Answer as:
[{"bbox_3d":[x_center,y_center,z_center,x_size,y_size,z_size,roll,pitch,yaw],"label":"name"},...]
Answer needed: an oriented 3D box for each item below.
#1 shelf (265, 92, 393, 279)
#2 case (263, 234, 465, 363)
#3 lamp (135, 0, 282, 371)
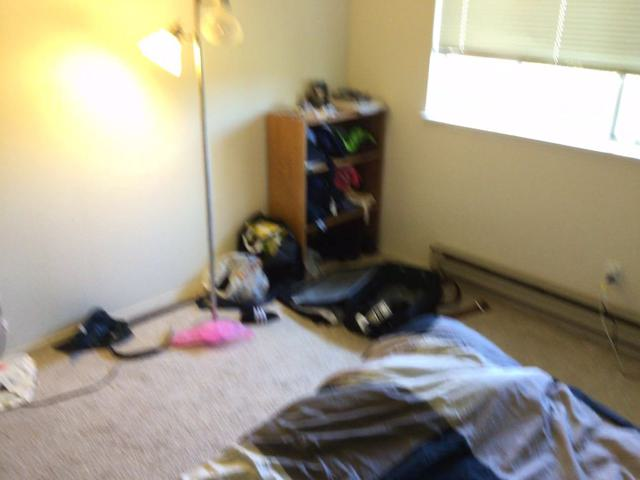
[{"bbox_3d":[0.060,-0.330,3.270,0.620,0.890,0.350,-21,30,-39],"label":"shelf"},{"bbox_3d":[0.230,0.250,2.930,0.760,0.190,0.690,16,28,33],"label":"case"},{"bbox_3d":[-0.430,-0.320,2.360,0.360,1.700,0.330,-21,30,-39],"label":"lamp"}]
